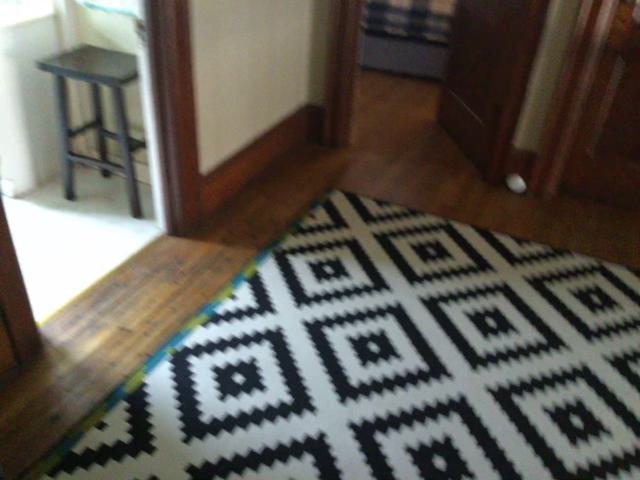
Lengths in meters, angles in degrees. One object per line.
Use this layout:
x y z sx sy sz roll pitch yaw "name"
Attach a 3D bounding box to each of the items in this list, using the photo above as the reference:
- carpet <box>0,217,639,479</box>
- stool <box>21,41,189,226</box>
0.450 0.510 1.800 1.930 0.070 2.030 14 28 23 "carpet"
-0.950 -0.500 2.640 0.560 0.650 0.370 18 32 20 "stool"
